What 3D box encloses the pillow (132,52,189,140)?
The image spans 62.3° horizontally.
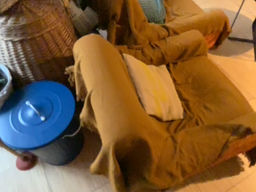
[{"bbox_3d":[0.180,-0.030,1.170,0.120,0.380,0.390,-23,100,13],"label":"pillow"}]
